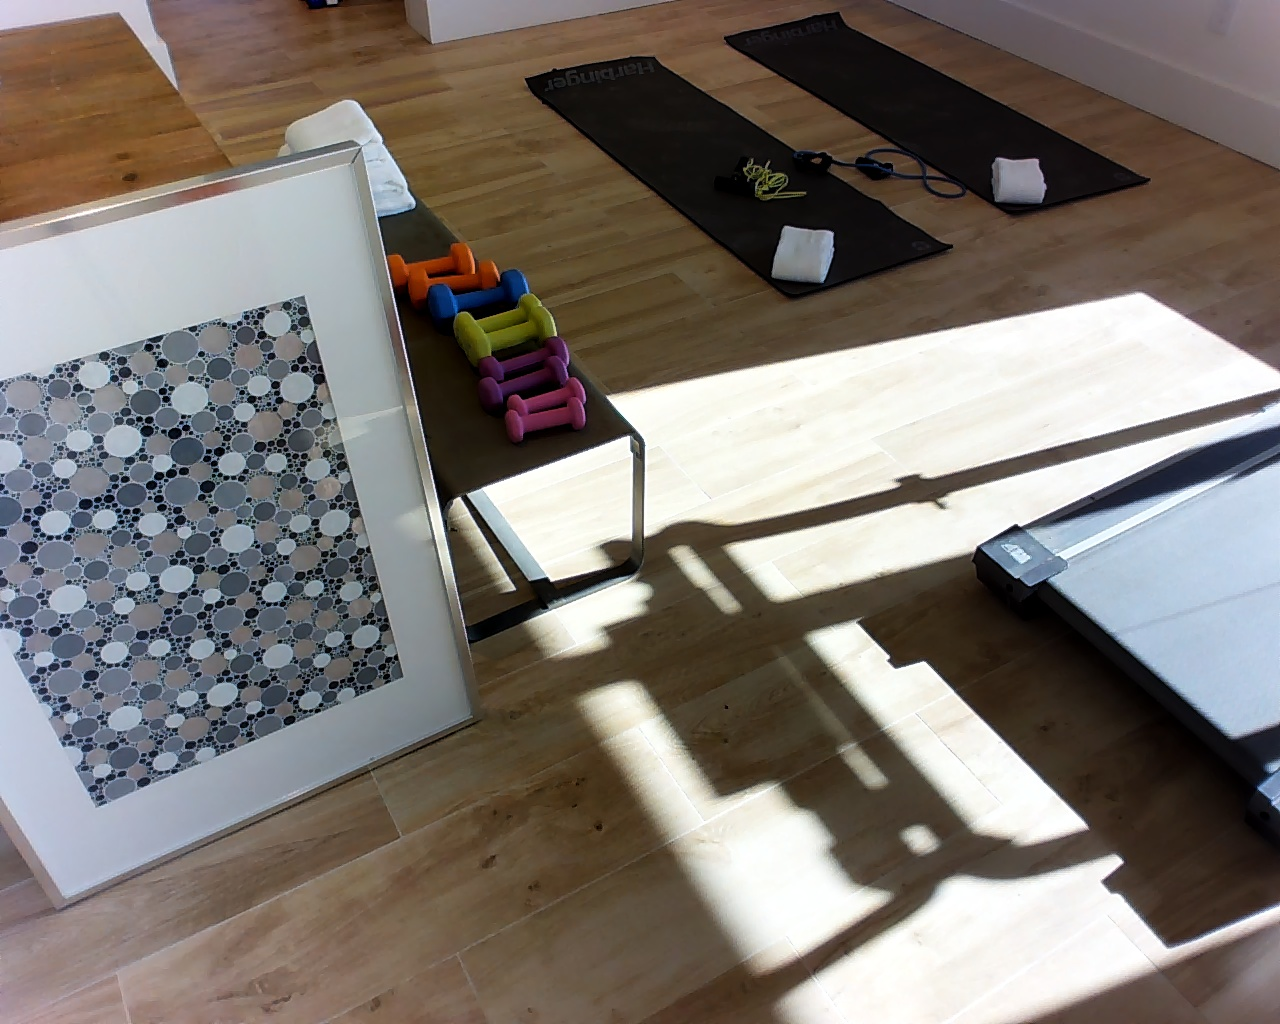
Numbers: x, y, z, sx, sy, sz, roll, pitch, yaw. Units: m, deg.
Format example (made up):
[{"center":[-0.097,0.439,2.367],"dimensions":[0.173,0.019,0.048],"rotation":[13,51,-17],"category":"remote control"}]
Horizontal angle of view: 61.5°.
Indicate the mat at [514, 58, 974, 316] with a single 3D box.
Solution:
[{"center":[0.250,-1.200,3.680],"dimensions":[0.640,0.020,1.880],"rotation":[-20,46,-21],"category":"mat"}]
